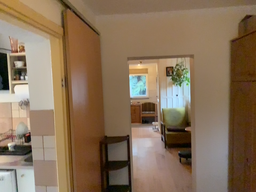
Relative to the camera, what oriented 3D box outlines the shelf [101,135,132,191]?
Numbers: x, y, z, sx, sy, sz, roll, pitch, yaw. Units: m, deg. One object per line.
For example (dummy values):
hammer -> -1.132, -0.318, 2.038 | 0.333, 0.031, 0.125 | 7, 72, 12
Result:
shelf -> -0.120, 0.980, 2.540 | 0.290, 0.970, 0.300 | -1, 4, 7
